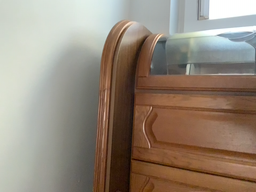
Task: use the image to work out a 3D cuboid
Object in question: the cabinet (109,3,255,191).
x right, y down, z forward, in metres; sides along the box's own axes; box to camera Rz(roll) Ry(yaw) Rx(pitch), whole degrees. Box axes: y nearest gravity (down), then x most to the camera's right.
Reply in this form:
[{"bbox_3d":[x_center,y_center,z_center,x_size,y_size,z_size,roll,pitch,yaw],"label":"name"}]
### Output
[{"bbox_3d":[0.440,0.290,0.900,0.340,0.990,1.220,5,-92,-63],"label":"cabinet"}]
